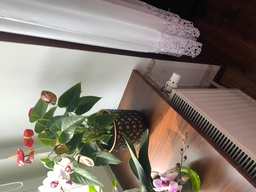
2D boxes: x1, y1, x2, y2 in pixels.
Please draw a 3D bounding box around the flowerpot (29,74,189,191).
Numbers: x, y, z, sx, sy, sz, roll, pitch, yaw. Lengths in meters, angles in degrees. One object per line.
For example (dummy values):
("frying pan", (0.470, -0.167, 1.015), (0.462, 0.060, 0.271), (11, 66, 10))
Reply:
("flowerpot", (-0.080, 0.120, 0.910), (0.300, 0.550, 0.290), (48, 127, 41))
